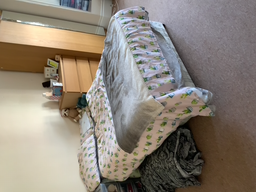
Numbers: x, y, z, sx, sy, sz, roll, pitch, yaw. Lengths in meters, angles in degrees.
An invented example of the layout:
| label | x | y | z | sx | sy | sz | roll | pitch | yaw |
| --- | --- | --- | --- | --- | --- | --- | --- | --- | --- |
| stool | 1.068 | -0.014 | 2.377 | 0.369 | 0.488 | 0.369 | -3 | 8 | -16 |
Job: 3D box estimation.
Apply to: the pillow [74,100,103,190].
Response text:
| label | x | y | z | sx | sy | sz | roll | pitch | yaw |
| --- | --- | --- | --- | --- | --- | --- | --- | --- | --- |
| pillow | -0.610 | 0.680 | 3.100 | 0.440 | 0.190 | 1.180 | 122 | 141 | -47 |
